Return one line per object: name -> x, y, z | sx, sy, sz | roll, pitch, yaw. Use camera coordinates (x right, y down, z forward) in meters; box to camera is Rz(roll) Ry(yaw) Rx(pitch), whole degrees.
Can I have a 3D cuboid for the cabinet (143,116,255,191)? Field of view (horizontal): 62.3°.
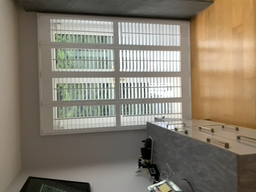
cabinet -> 0.790, 0.570, 1.920 | 1.620, 0.870, 0.600 | -178, 87, -77
